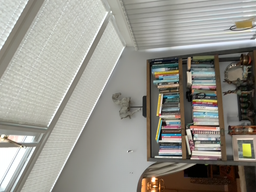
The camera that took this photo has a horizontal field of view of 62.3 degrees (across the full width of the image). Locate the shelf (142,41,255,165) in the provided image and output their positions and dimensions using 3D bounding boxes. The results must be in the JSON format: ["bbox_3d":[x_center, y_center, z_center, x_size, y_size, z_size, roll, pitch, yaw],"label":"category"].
[{"bbox_3d":[0.950,0.090,2.390,0.390,1.530,1.260,49,-140,-73],"label":"shelf"}]
